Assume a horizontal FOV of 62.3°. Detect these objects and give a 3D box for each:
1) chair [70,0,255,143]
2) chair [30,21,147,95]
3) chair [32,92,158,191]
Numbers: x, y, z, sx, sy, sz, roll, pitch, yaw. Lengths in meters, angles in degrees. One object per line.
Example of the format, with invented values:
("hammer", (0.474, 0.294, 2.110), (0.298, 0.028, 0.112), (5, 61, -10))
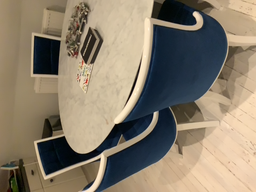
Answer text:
("chair", (0.260, -0.210, 1.150), (0.590, 0.900, 0.510), (47, 127, 42))
("chair", (-0.390, -0.350, 2.040), (0.610, 0.900, 0.530), (22, 109, 52))
("chair", (-0.320, 0.360, 1.970), (0.540, 0.910, 0.570), (52, 131, 39))
